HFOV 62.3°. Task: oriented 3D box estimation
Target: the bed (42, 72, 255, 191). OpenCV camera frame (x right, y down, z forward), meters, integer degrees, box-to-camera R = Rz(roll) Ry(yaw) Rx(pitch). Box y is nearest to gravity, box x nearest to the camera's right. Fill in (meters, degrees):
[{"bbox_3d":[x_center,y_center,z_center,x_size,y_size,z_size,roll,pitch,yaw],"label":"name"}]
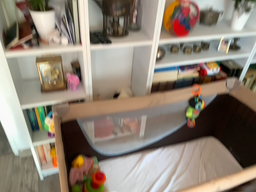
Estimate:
[{"bbox_3d":[0.260,0.480,1.350,1.330,0.850,0.700,-11,40,-20],"label":"bed"}]
